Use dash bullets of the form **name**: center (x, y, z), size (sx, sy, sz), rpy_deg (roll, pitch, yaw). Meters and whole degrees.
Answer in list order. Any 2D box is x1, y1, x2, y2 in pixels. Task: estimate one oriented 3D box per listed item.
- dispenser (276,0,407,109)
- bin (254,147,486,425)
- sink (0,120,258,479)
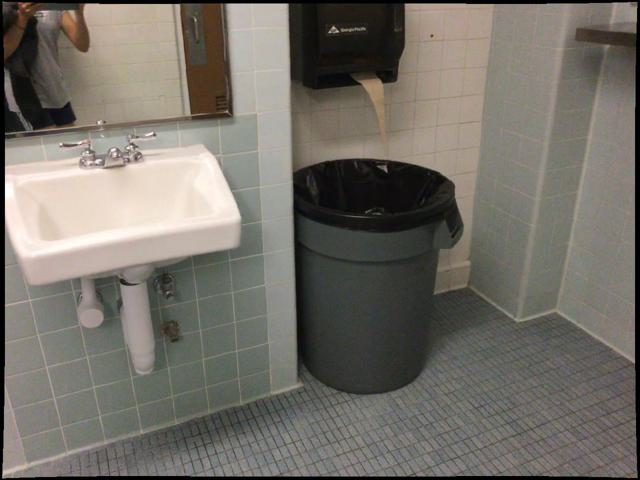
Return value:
- **dispenser**: center (0.060, -0.662, 1.860), size (0.329, 0.391, 0.260), rpy_deg (-10, 29, -22)
- **bin**: center (0.130, 0.120, 2.070), size (0.549, 0.701, 0.600), rpy_deg (-10, 29, -22)
- **sink**: center (-0.489, 0.120, 1.410), size (0.539, 0.681, 0.450), rpy_deg (-10, 29, -22)
